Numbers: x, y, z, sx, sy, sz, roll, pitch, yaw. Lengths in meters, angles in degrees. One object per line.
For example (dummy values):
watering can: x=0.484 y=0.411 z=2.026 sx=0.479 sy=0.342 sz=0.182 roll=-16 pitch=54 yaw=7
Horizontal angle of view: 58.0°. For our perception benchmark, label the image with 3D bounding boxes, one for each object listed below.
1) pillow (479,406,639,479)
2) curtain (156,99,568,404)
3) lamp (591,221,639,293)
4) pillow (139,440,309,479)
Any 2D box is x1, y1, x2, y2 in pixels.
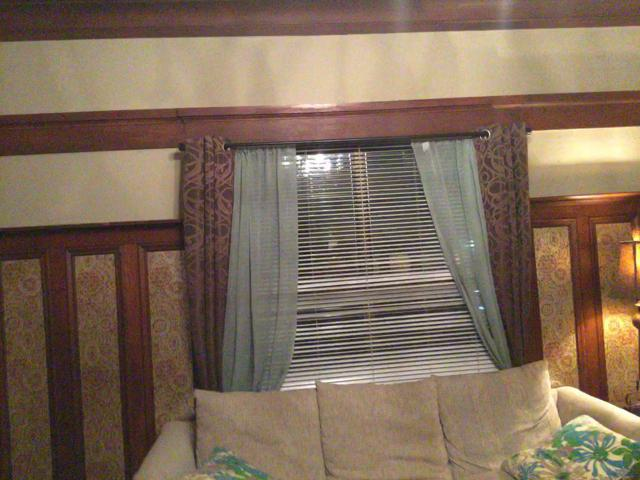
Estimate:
pillow: x=0.990 y=0.870 z=2.330 sx=0.510 sy=0.240 sz=0.570 roll=-4 pitch=-5 yaw=-2
curtain: x=0.180 y=0.040 z=2.780 sx=1.800 sy=1.270 sz=0.240 roll=-4 pitch=-5 yaw=-2
lamp: x=1.470 y=0.080 z=2.680 sx=0.230 sy=0.310 sz=0.330 roll=-4 pitch=-5 yaw=-2
pillow: x=-0.350 y=0.980 z=2.270 sx=0.460 sy=0.240 sz=0.520 roll=-6 pitch=-5 yaw=18
